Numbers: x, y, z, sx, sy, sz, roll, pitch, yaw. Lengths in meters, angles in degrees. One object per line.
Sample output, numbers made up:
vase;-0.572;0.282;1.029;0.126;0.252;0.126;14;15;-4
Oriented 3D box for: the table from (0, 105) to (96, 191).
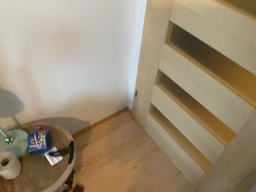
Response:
table;-0.510;0.430;1.240;0.460;0.420;0.450;-27;55;-27
